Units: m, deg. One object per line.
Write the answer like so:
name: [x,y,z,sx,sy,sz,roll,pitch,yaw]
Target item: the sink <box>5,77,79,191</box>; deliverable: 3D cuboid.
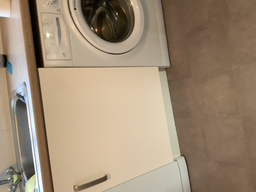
sink: [-0.490,0.210,1.140,0.540,0.170,0.520,-11,87,52]
